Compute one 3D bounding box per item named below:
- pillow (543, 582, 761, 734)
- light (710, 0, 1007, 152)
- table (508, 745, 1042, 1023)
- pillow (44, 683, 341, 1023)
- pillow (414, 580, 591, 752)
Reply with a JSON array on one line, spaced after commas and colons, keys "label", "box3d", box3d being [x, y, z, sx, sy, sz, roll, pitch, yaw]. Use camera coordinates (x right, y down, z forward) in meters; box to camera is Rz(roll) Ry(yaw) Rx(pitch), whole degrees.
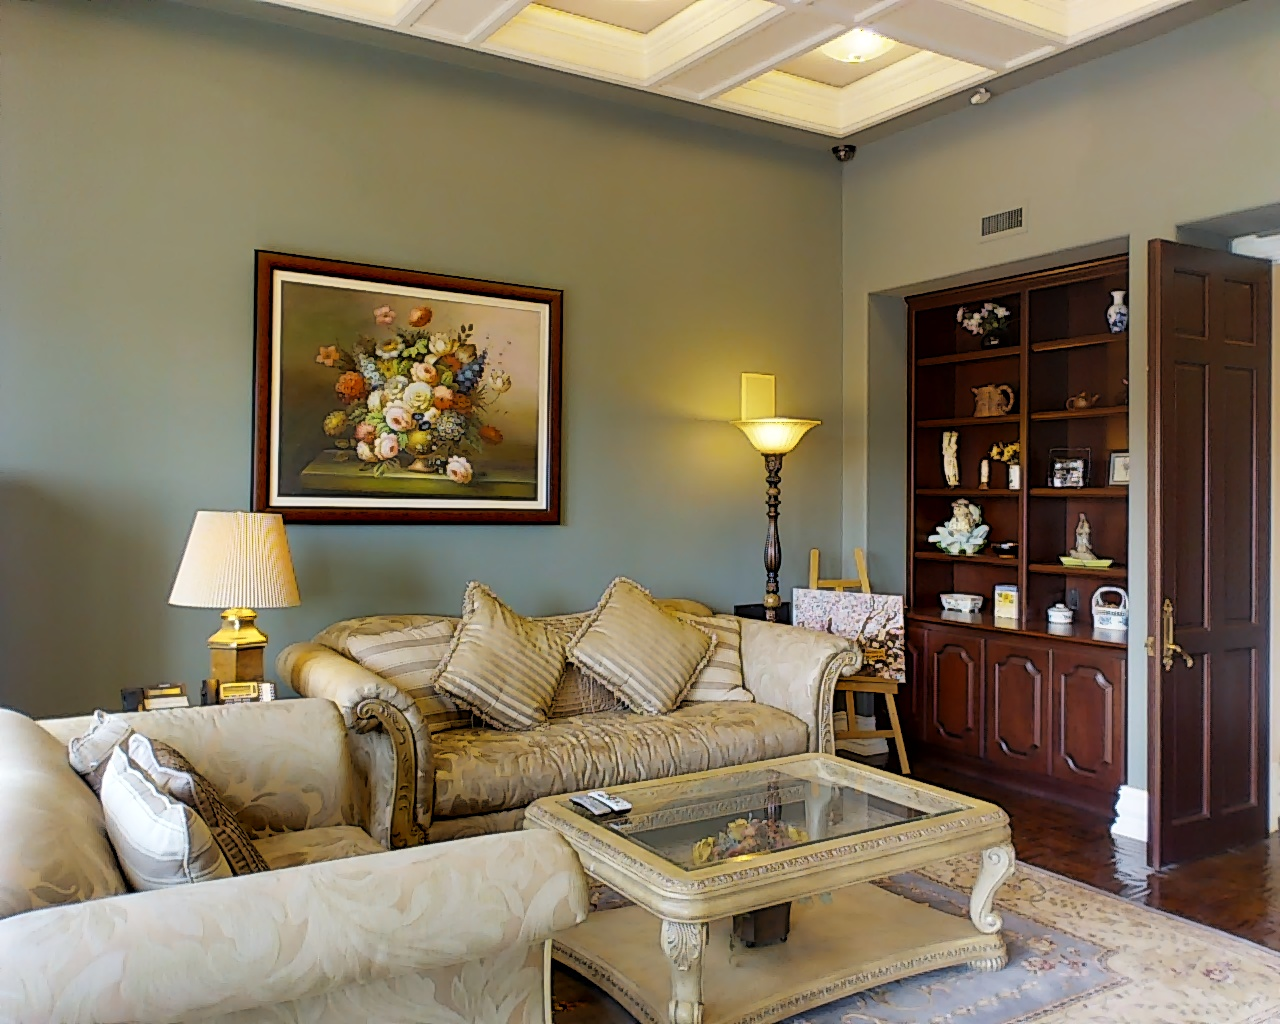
[{"label": "pillow", "box3d": [0.060, 0.620, 4.770, 0.860, 0.560, 0.460, 1, 1, -36]}, {"label": "light", "box3d": [0.990, -2.030, 5.010, 0.870, 0.250, 1.070, -1, 1, -31]}, {"label": "table", "box3d": [0.400, 1.140, 3.320, 1.330, 0.510, 0.950, 1, 1, -31]}, {"label": "pillow", "box3d": [-1.060, 0.710, 2.390, 0.450, 0.430, 1.280, 1, 1, -30]}, {"label": "pillow", "box3d": [-0.580, 0.630, 4.410, 0.590, 0.540, 0.360, -6, -24, -20]}]
